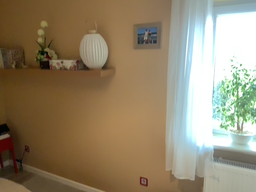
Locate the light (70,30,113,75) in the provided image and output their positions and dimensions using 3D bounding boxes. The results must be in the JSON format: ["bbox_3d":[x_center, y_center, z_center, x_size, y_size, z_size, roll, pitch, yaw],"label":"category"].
[{"bbox_3d":[-0.350,-0.410,2.060,0.300,0.390,0.260,6,11,30],"label":"light"}]

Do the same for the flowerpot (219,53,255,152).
[{"bbox_3d":[0.930,0.030,1.720,0.280,0.730,0.280,6,11,28],"label":"flowerpot"}]

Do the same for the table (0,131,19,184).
[{"bbox_3d":[-1.820,0.850,2.830,0.350,0.590,0.500,5,11,26],"label":"table"}]
